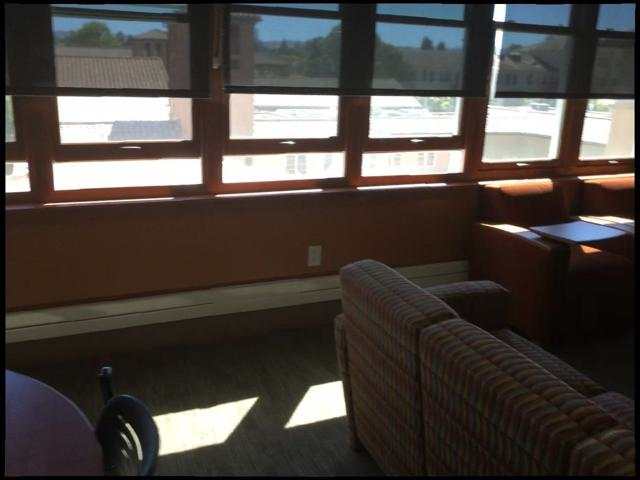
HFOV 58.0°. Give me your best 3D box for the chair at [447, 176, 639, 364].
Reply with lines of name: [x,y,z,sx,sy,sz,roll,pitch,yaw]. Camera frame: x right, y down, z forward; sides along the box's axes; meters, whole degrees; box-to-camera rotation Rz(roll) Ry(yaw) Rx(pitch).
chair: [1.417,0.110,3.450,0.888,0.801,0.870,-5,18,-21]
